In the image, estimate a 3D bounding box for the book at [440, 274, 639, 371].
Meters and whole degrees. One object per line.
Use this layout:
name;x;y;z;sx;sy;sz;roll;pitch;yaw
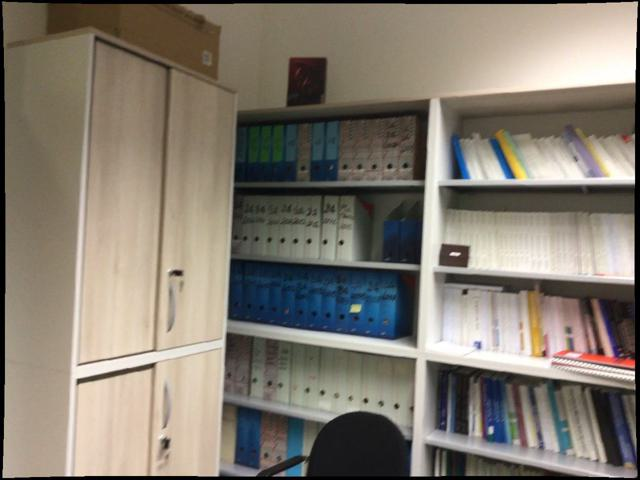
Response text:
book;1.099;0.330;2.360;1.149;0.290;0.300;3;2;29

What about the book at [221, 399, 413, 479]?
book;-0.050;1.021;2.820;1.019;0.300;0.080;3;2;29

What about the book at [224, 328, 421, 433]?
book;-0.030;0.661;2.820;1.059;0.340;0.040;3;2;29

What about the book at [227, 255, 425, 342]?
book;0.010;0.270;2.950;0.979;0.330;0.290;3;2;28

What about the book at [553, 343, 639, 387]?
book;1.099;0.470;2.170;0.390;0.080;0.230;3;2;29

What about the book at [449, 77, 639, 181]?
book;1.159;-0.440;2.380;1.179;0.360;0.300;3;2;29

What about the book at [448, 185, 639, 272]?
book;1.149;-0.050;2.390;1.179;0.330;0.250;3;2;28

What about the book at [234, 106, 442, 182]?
book;0.070;-0.470;2.970;1.049;0.310;0.270;3;2;29

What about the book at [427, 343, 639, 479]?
book;1.069;0.691;2.340;1.169;0.330;0.420;3;2;28

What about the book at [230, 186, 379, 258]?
book;-0.090;-0.100;3.040;0.729;0.340;0.280;3;2;29
